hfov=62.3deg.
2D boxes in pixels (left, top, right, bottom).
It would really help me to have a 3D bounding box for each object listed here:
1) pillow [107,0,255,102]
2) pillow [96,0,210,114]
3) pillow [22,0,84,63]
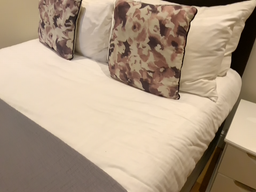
[{"bbox_3d":[0.250,-0.330,1.150,0.610,0.380,0.410,27,42,32],"label":"pillow"},{"bbox_3d":[0.070,-0.210,0.980,0.420,0.420,0.150,34,45,22],"label":"pillow"},{"bbox_3d":[-0.490,-0.500,1.370,0.430,0.380,0.170,37,47,27],"label":"pillow"}]
